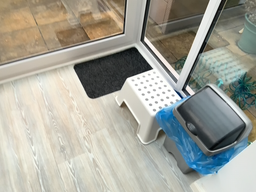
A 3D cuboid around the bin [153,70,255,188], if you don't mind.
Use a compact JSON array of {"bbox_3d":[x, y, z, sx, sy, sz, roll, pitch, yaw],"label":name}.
[{"bbox_3d":[0.420,0.190,1.170,0.330,0.450,0.380,-21,58,-21],"label":"bin"}]
